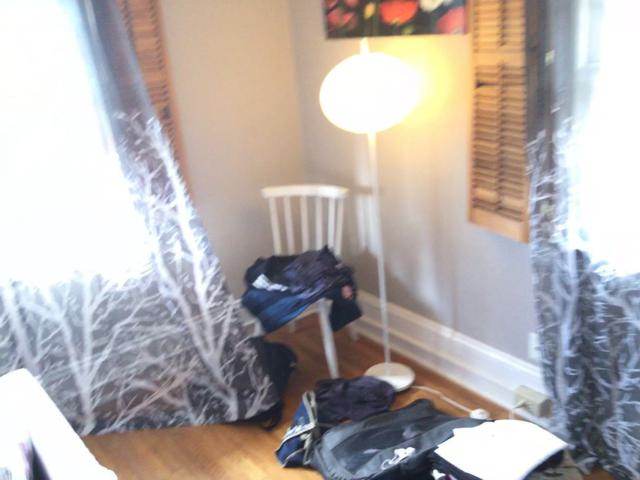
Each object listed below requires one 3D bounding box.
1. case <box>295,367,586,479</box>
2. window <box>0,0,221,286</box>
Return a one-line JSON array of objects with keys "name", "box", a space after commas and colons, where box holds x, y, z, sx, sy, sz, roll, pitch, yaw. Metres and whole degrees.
[{"name": "case", "box": [0.370, 0.760, 1.900, 0.600, 0.160, 0.810, -13, 21, -25]}, {"name": "window", "box": [-1.230, -0.480, 1.960, 1.730, 1.290, 0.240, -18, 23, -36]}]
